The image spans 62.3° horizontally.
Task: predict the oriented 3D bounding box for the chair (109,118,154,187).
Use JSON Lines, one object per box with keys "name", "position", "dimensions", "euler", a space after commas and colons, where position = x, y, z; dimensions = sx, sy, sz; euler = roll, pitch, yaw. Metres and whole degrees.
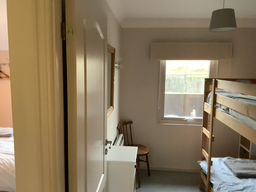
{"name": "chair", "position": [0.050, 0.810, 3.210], "dimensions": [0.480, 0.820, 0.480], "euler": [7, 10, 34]}
